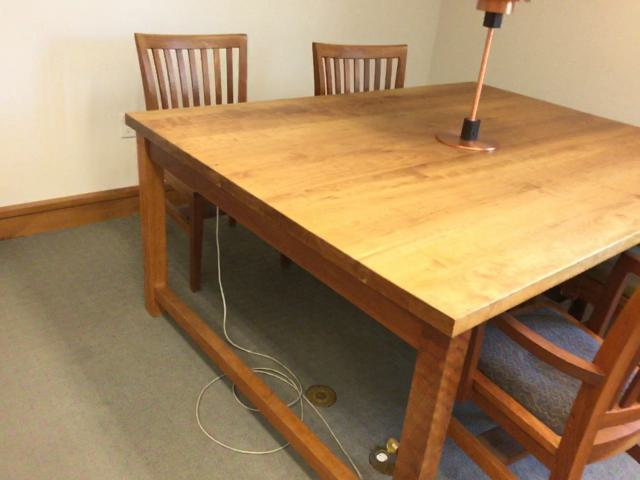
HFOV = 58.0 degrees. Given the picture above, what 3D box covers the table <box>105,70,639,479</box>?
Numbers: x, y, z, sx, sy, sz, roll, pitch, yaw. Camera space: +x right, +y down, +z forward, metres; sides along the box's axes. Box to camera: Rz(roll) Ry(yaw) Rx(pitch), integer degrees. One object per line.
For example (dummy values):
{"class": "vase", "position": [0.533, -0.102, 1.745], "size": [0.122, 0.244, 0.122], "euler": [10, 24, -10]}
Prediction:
{"class": "table", "position": [0.430, 0.010, 2.090], "size": [1.840, 1.020, 1.490], "euler": [-11, 24, -37]}
